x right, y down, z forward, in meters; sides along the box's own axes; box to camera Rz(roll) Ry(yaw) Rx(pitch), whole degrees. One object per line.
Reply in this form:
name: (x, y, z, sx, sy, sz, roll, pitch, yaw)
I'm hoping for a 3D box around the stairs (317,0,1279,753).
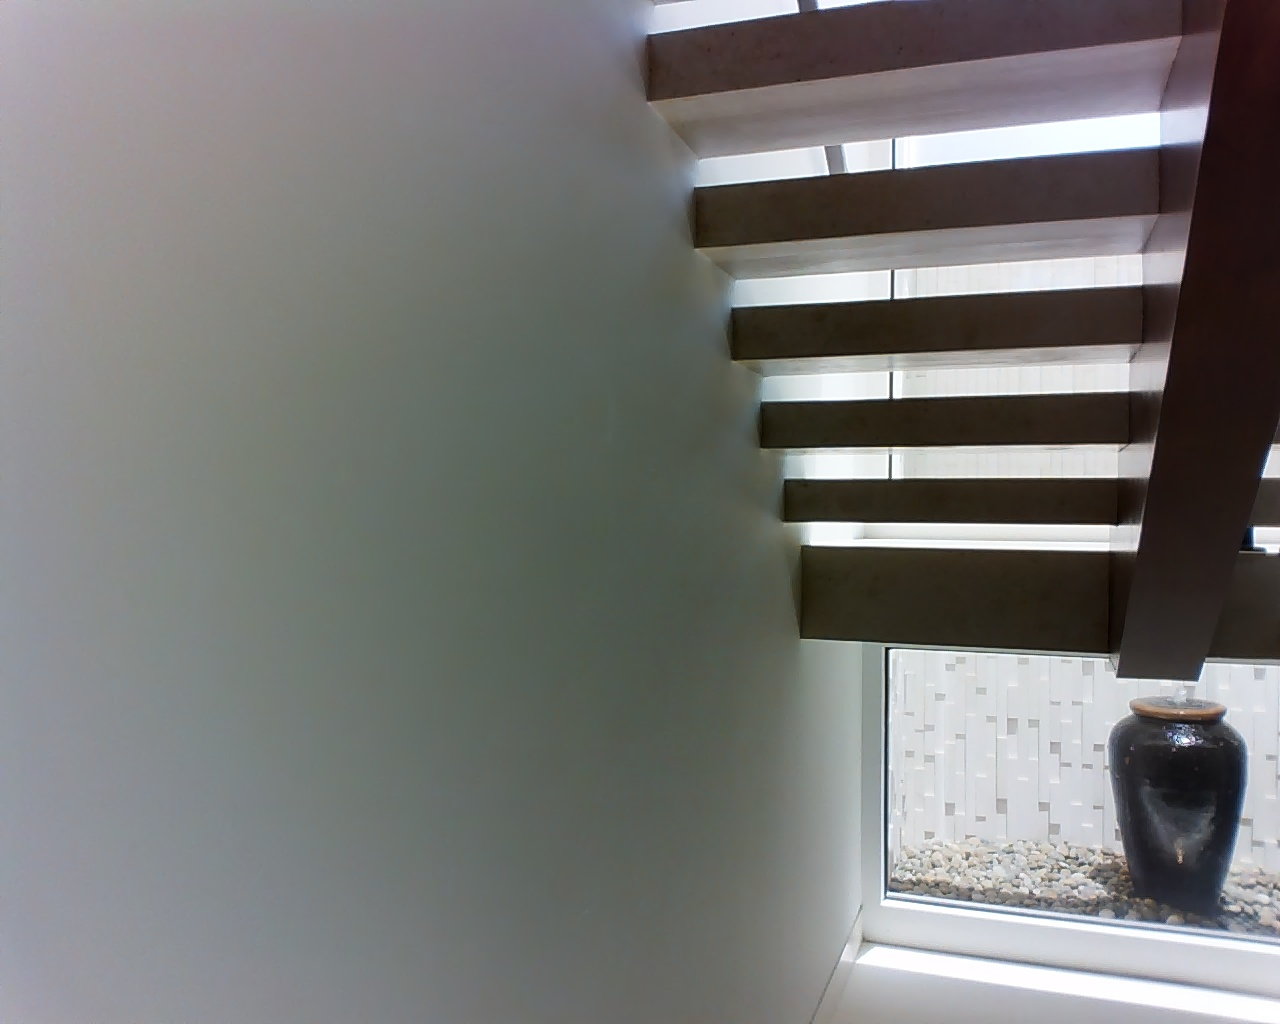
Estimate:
stairs: (0.700, -0.550, 1.930, 1.210, 1.450, 2.410, 0, 0, 21)
